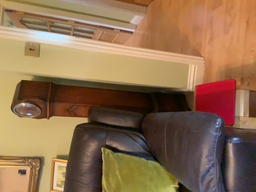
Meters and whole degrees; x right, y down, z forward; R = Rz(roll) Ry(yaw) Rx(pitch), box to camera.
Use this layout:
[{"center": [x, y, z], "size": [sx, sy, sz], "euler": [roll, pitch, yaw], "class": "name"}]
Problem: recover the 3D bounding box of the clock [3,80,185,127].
[{"center": [-0.210, 0.070, 1.710], "size": [0.280, 1.330, 0.250], "euler": [-168, 84, -72], "class": "clock"}]
